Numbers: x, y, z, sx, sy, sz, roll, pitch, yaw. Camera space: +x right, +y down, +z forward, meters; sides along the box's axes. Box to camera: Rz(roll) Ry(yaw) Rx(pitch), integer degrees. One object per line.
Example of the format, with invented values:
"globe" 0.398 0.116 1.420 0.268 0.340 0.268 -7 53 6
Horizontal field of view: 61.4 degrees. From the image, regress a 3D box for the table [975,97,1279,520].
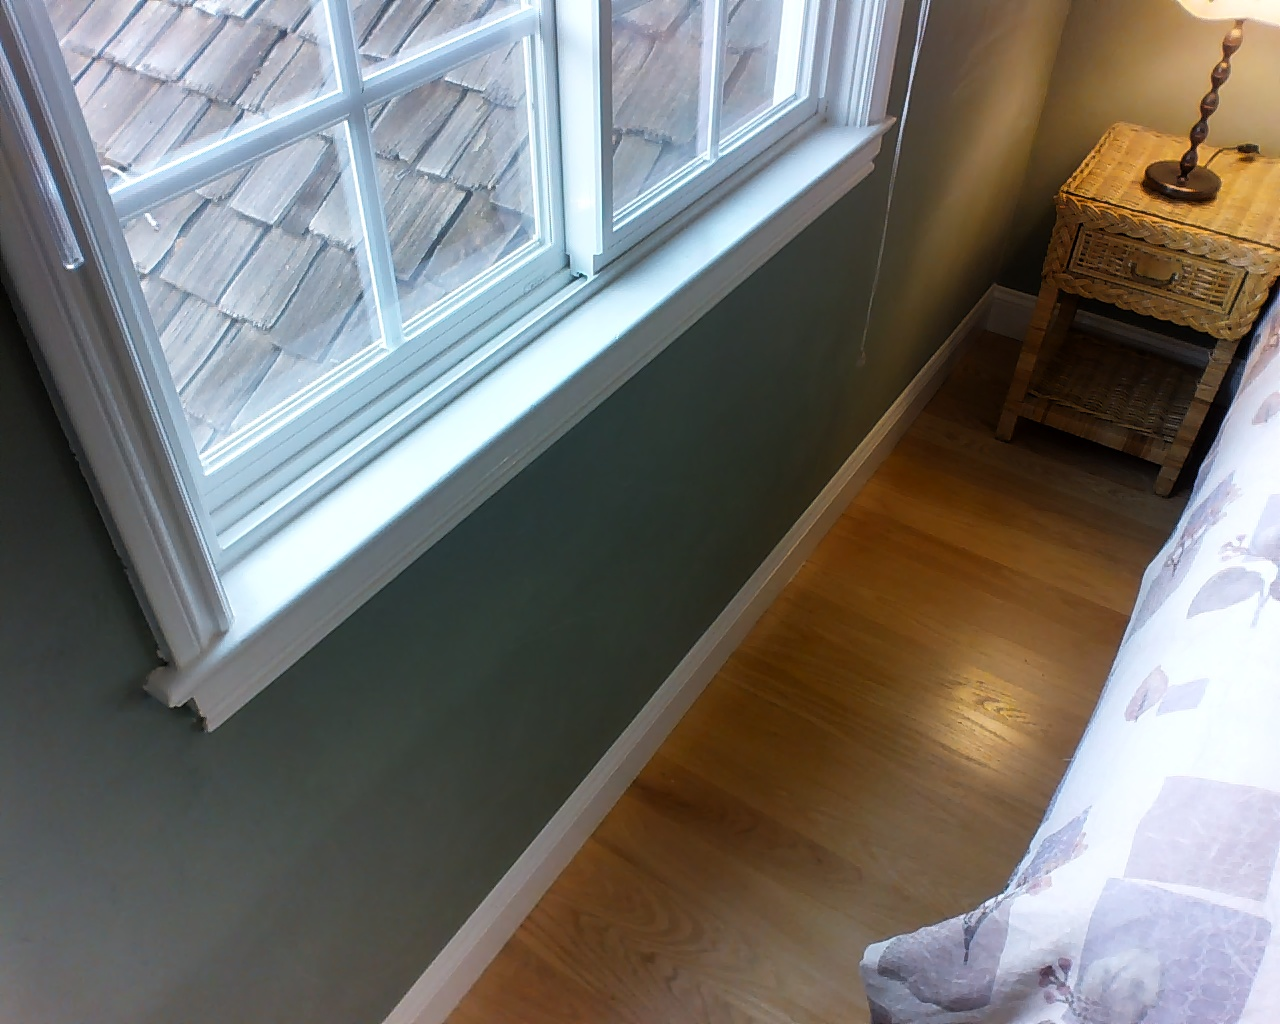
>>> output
"table" 1.170 -0.470 2.460 0.510 0.690 0.490 24 47 25
